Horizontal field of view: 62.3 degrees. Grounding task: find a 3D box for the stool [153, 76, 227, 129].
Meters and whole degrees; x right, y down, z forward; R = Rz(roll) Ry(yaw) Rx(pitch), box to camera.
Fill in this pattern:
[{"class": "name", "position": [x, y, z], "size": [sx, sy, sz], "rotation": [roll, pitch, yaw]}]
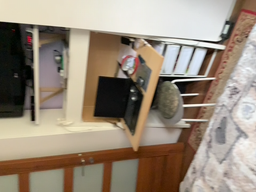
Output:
[{"class": "stool", "position": [0.530, 0.050, 1.880], "size": [0.320, 0.450, 0.330], "rotation": [-121, 38, -51]}]
